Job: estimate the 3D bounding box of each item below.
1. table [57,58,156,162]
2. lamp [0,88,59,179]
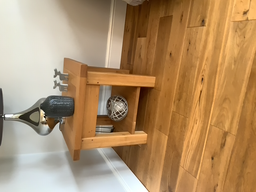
[{"bbox_3d":[-0.220,0.050,1.670,0.650,0.530,0.620,23,109,61],"label":"table"},{"bbox_3d":[-0.880,0.220,1.520,0.640,0.620,0.420,30,115,60],"label":"lamp"}]
